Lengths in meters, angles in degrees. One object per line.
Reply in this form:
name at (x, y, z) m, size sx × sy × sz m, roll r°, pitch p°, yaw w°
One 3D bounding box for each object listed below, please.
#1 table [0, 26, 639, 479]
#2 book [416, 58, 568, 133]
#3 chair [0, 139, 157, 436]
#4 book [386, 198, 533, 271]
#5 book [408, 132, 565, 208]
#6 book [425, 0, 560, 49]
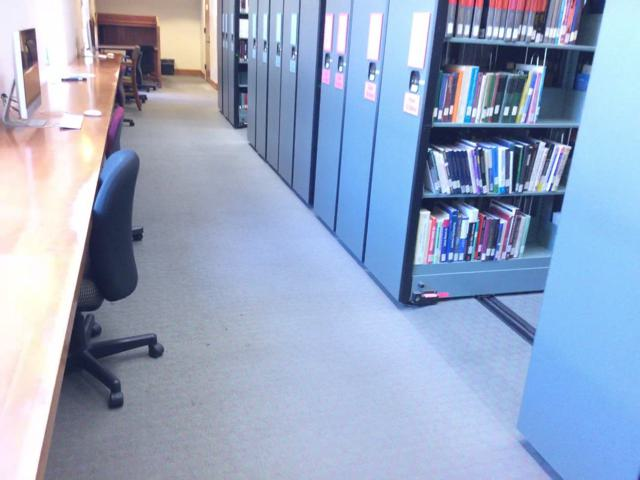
table at (-1.710, -1.110, 4.690) m, size 1.260 × 1.050 × 11.510 m, roll -2°, pitch 21°, yaw -15°
book at (0.820, -0.700, 2.800) m, size 0.610 × 0.310 × 0.280 m, roll -2°, pitch 21°, yaw -15°
chair at (-0.960, 0.130, 2.200) m, size 0.610 × 0.910 × 0.660 m, roll -2°, pitch 21°, yaw -15°
book at (0.720, -0.040, 3.030) m, size 0.660 × 0.280 × 0.290 m, roll -2°, pitch 21°, yaw -15°
book at (0.820, -0.360, 2.900) m, size 0.640 × 0.300 × 0.330 m, roll -2°, pitch 21°, yaw -15°
book at (0.770, -1.050, 2.560) m, size 0.550 × 0.360 × 0.160 m, roll -2°, pitch 21°, yaw -15°
